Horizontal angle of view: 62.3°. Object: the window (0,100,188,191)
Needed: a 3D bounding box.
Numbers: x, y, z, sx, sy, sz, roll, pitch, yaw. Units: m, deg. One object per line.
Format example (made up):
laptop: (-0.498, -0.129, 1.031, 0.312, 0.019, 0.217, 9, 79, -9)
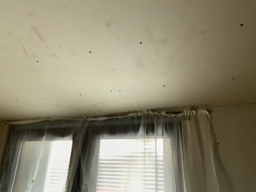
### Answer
window: (-0.390, 0.810, 1.170, 1.420, 1.500, 0.160, -5, -22, 18)
